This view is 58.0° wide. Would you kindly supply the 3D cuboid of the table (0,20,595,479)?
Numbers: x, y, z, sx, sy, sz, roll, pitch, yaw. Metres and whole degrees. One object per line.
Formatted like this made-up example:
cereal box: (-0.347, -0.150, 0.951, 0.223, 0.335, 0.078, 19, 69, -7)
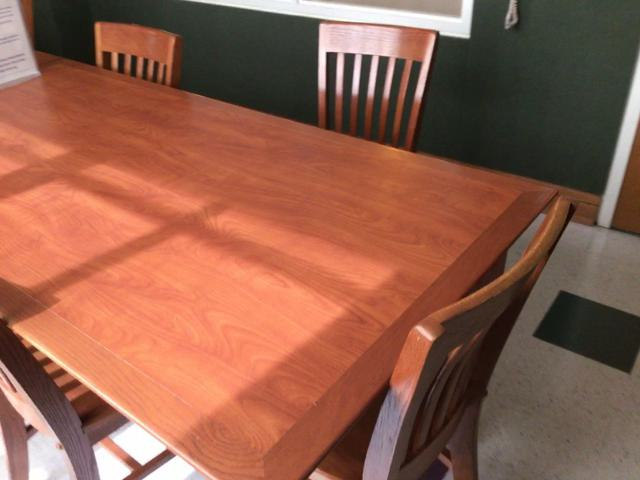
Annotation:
table: (-1.180, -0.180, 2.010, 3.640, 0.800, 1.000, 22, 40, 31)
